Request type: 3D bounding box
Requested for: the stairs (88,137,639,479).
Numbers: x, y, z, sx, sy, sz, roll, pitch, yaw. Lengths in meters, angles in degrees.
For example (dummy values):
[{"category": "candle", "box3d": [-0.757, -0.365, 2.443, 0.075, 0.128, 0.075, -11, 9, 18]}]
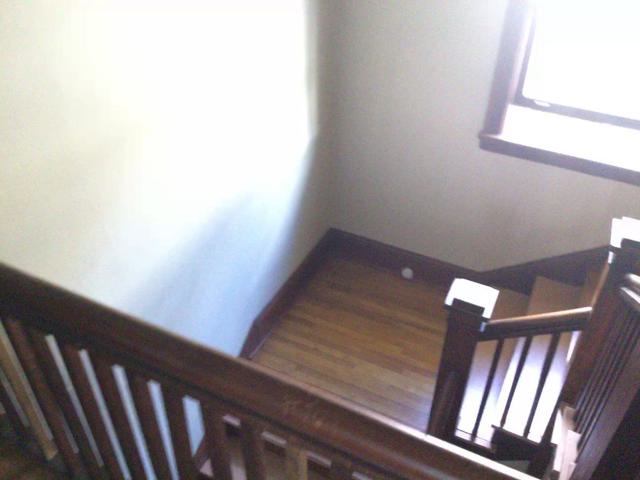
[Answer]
[{"category": "stairs", "box3d": [0.890, 0.730, 2.820, 2.920, 1.360, 2.100, 14, 34, 22]}]
